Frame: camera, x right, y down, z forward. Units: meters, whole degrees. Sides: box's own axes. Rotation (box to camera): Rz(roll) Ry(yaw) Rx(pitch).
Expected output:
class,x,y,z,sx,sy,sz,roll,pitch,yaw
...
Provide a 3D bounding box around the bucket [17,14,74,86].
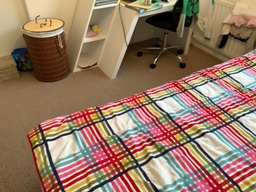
class,x,y,z,sx,sy,sz,roll,pitch,yaw
bucket,-0.800,-0.460,2.090,0.350,0.520,0.400,-18,43,-23

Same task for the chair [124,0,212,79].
class,x,y,z,sx,sy,sz,roll,pitch,yaw
chair,0.400,-0.750,2.300,0.650,0.760,0.600,29,47,30

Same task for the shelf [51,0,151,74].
class,x,y,z,sx,sy,sz,roll,pitch,yaw
shelf,-0.250,-1.070,2.070,0.950,1.520,0.340,-20,44,-25
